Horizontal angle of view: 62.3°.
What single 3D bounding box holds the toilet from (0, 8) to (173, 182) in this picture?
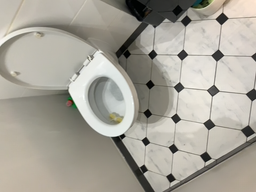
[{"bbox_3d":[-0.190,-0.030,1.130,0.370,0.850,0.510,-43,73,26],"label":"toilet"}]
